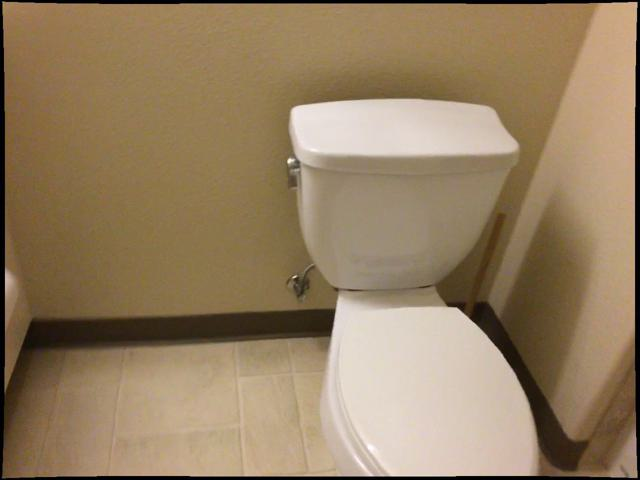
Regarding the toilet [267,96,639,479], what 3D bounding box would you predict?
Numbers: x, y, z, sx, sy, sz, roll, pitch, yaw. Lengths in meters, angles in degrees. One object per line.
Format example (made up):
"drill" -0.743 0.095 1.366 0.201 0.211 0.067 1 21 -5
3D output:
"toilet" 0.180 0.231 1.210 0.479 0.791 0.781 -3 37 -11
